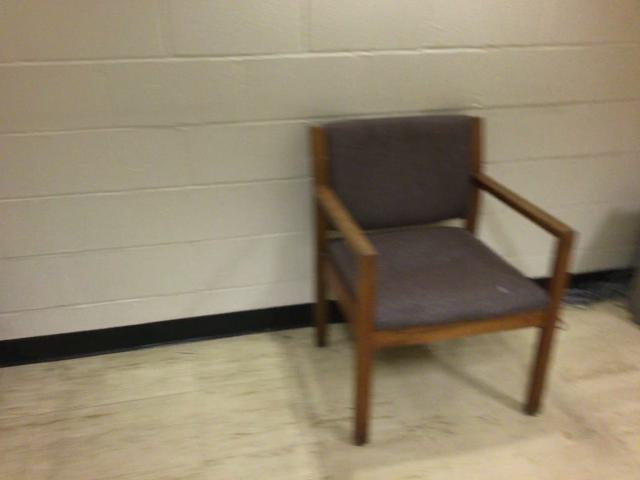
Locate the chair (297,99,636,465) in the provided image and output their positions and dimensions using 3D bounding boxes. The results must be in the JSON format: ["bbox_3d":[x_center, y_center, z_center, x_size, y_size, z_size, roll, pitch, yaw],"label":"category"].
[{"bbox_3d":[0.350,0.070,1.830,0.720,0.880,0.670,-5,24,-13],"label":"chair"}]
